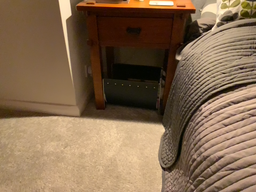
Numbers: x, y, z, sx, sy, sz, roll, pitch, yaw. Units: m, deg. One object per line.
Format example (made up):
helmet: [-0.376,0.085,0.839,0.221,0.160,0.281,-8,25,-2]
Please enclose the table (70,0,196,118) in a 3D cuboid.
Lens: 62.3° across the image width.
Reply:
table: [0.040,-0.270,1.330,0.580,0.620,0.450,5,35,6]
